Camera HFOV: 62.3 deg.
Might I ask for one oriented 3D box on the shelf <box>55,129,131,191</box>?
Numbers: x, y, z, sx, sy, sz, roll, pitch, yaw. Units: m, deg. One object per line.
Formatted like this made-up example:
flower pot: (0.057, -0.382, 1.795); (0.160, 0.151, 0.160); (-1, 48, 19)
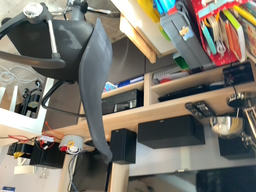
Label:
shelf: (-0.320, 0.950, 1.650); (0.630, 1.280, 0.210); (-15, 148, 33)

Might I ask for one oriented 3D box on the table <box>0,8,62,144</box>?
table: (-1.330, -0.080, 1.760); (1.240, 0.770, 0.820); (-18, 147, 36)
